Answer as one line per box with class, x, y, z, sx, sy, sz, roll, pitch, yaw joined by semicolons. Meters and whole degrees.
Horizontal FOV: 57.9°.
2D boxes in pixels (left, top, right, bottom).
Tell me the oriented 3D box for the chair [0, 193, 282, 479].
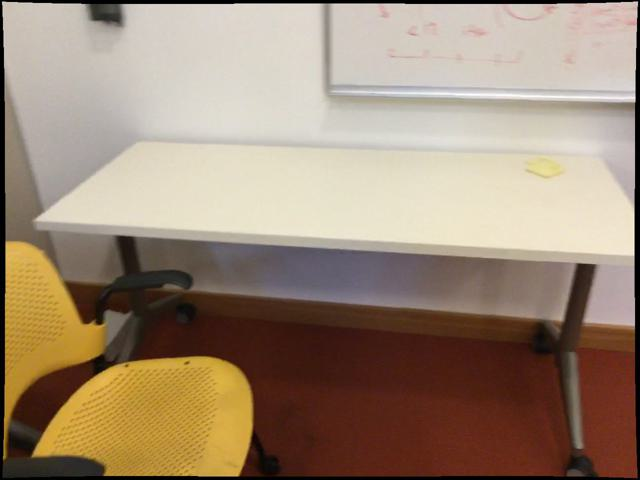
chair;-0.490;0.390;1.300;0.679;0.771;0.570;5;31;8
